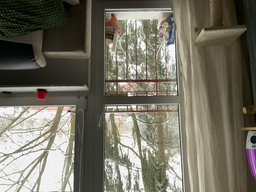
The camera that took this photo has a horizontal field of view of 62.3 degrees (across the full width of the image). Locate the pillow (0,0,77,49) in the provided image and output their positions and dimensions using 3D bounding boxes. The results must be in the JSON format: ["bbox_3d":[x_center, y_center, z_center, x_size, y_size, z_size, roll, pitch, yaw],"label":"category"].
[{"bbox_3d":[-0.550,-0.530,1.210,0.410,0.440,0.250,1,-136,-1],"label":"pillow"}]
